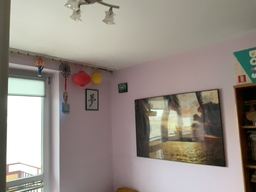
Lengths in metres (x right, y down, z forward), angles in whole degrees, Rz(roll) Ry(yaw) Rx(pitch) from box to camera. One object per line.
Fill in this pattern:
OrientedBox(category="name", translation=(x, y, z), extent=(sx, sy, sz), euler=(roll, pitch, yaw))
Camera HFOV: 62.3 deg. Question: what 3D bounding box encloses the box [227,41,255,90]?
OrientedBox(category="box", translation=(1.110, -0.260, 1.880), extent=(0.320, 0.350, 0.310), euler=(-8, -9, 41))
